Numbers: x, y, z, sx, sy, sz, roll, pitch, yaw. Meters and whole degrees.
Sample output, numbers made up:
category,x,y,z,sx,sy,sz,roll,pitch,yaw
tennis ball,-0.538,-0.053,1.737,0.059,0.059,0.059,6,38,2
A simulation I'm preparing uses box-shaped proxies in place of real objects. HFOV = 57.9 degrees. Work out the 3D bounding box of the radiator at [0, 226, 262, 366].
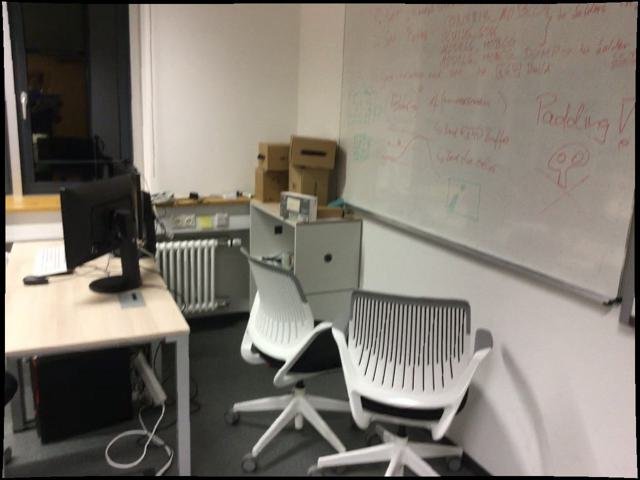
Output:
category,x,y,z,sx,sy,sz,roll,pitch,yaw
radiator,-1.339,0.330,3.550,1.958,0.621,0.270,-6,17,-22
